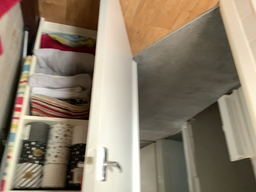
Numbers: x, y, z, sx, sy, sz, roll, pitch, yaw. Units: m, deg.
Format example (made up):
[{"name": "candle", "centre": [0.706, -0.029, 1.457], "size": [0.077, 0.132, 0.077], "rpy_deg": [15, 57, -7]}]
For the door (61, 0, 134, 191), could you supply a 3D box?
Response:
[{"name": "door", "centre": [-0.080, 0.260, 1.020], "size": [0.130, 1.550, 0.730], "rpy_deg": [-4, 152, 7]}]
